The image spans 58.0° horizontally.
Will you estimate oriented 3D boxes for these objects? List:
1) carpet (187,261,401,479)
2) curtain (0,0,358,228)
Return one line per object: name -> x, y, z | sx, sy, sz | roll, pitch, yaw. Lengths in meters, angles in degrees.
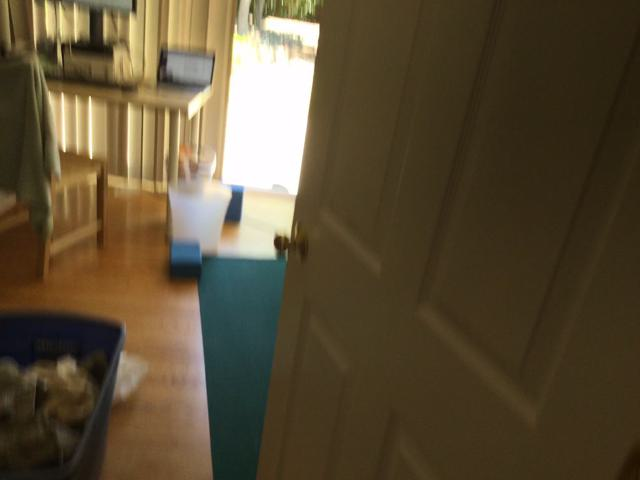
carpet -> -0.190, 0.500, 2.300 | 0.600, 0.090, 1.550 | 5, 24, -18
curtain -> -0.860, -1.310, 3.260 | 2.060, 2.250, 0.310 | 9, 23, -10
